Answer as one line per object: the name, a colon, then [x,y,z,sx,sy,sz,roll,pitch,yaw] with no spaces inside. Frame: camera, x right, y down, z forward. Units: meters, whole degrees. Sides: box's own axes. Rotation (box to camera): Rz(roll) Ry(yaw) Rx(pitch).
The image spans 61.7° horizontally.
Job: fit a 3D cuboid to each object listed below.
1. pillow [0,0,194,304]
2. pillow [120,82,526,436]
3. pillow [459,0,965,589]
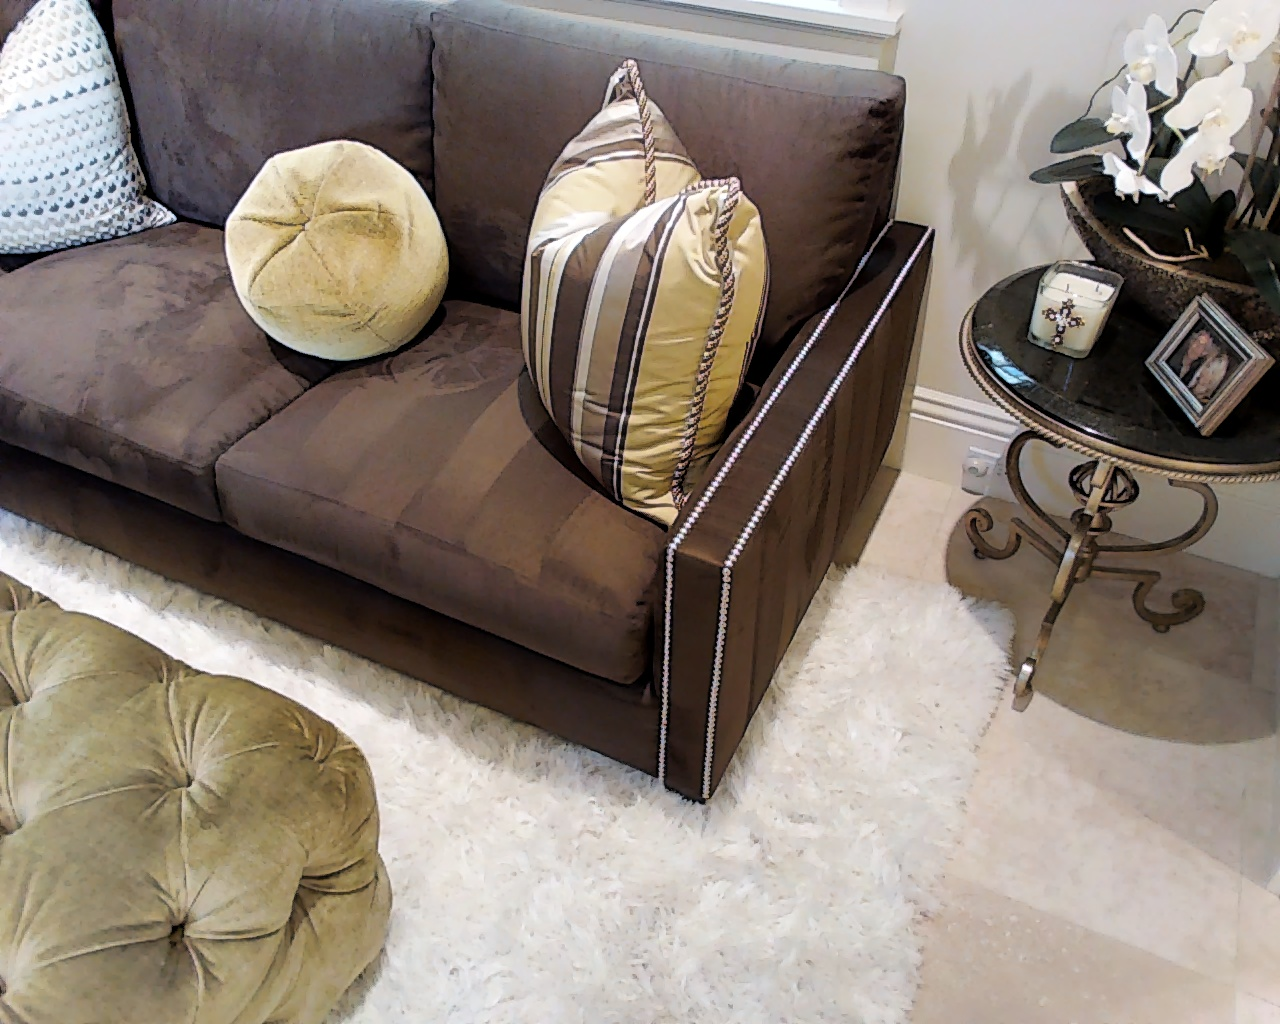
pillow: [-1.250,-0.800,2.160,0.600,0.550,0.370,6,51,-20]
pillow: [-0.520,-0.460,1.880,0.470,0.370,0.420,18,44,19]
pillow: [0.030,-0.340,1.620,0.440,0.650,0.590,-5,50,-21]
